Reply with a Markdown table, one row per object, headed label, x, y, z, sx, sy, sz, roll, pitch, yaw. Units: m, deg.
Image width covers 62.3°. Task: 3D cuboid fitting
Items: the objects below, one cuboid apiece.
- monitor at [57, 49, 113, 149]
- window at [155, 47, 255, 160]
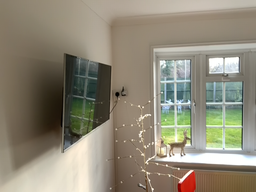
| label | x | y | z | sx | sy | sz | roll | pitch | yaw |
| --- | --- | --- | --- | --- | --- | --- | --- | --- | --- |
| monitor | -0.260 | 0.000 | 1.570 | 0.060 | 0.520 | 0.950 | 3 | 2 | 9 |
| window | 1.240 | 0.100 | 2.760 | 1.760 | 1.410 | 0.140 | 0 | 5 | 12 |
